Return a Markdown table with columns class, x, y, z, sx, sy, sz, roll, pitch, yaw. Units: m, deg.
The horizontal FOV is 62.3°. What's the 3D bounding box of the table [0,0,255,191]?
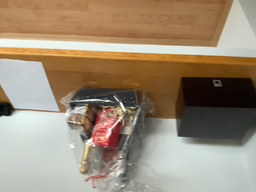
| class | x | y | z | sx | sy | sz | roll | pitch | yaw |
| --- | --- | --- | --- | --- | --- | --- | --- | --- | --- |
| table | -0.190 | -0.050 | 0.860 | 2.090 | 1.130 | 0.350 | 3 | 141 | 4 |
